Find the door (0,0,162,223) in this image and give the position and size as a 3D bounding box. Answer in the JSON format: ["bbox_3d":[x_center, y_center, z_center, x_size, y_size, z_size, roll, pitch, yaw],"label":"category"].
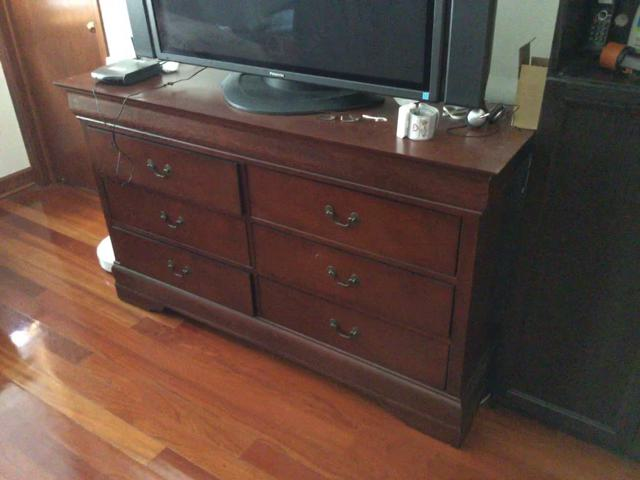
[{"bbox_3d":[-1.190,-1.070,2.570,0.750,1.950,0.210,16,33,26],"label":"door"}]

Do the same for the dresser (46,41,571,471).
[{"bbox_3d":[-0.090,-0.050,1.880,1.450,0.940,0.500,16,33,26],"label":"dresser"}]
